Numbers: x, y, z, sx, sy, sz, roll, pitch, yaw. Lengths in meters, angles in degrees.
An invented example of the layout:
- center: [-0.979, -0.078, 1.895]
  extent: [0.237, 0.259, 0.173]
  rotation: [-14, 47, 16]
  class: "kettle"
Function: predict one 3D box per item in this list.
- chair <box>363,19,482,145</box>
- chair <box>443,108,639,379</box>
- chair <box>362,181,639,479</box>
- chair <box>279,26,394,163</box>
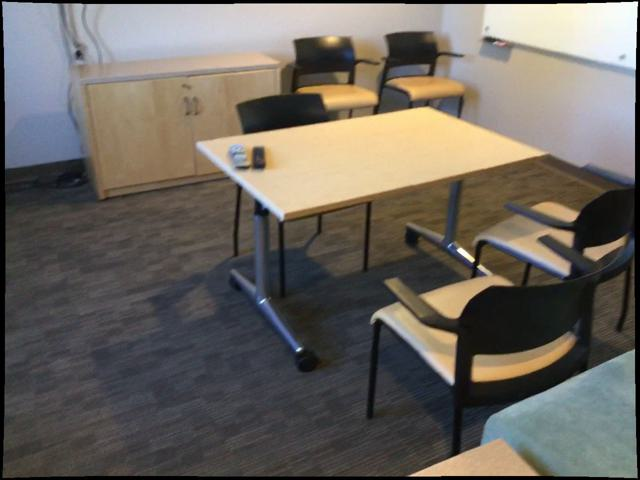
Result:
- center: [0.759, -1.241, 4.470]
  extent: [0.530, 0.761, 0.660]
  rotation: [-14, 33, -26]
  class: "chair"
- center: [0.919, -0.020, 2.270]
  extent: [0.570, 0.781, 0.530]
  rotation: [-25, 39, -39]
  class: "chair"
- center: [0.539, 0.320, 1.720]
  extent: [0.540, 0.731, 0.610]
  rotation: [-14, 33, -26]
  class: "chair"
- center: [0.090, -1.061, 4.130]
  extent: [0.540, 0.761, 0.630]
  rotation: [-14, 33, -26]
  class: "chair"
